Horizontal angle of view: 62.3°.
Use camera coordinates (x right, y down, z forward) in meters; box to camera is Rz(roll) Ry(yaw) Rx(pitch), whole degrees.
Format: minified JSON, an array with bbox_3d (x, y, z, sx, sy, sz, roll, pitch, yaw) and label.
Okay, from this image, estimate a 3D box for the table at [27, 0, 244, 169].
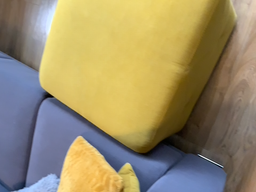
[{"bbox_3d":[0.030,-0.200,0.960,0.640,0.500,0.640,29,106,26],"label":"table"}]
